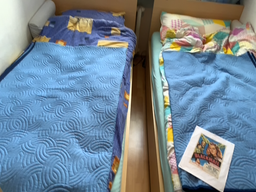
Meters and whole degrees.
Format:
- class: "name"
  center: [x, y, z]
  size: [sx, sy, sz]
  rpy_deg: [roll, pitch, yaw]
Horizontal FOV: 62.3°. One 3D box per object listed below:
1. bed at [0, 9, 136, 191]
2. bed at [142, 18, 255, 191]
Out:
- class: "bed"
  center: [-0.430, -0.080, 1.810]
  size: [0.940, 0.570, 2.140]
  rpy_deg: [5, 39, -2]
- class: "bed"
  center: [0.650, 0.010, 1.840]
  size: [0.940, 0.570, 2.140]
  rpy_deg: [5, 39, -2]
